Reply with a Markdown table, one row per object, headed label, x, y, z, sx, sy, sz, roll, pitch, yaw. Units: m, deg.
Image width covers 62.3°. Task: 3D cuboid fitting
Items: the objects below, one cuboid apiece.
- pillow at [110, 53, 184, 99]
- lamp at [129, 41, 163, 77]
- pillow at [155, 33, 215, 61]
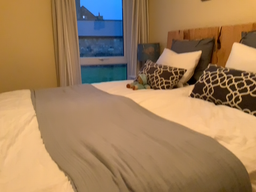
| label | x | y | z | sx | sy | sz | roll | pitch | yaw |
| --- | --- | --- | --- | --- | --- | --- | --- | --- | --- |
| pillow | 0.160 | -0.200 | 2.040 | 0.590 | 0.430 | 0.140 | 9 | -38 | 55 |
| lamp | 0.250 | -0.530 | 3.010 | 0.340 | 0.470 | 0.360 | -7 | 14 | -26 |
| pillow | 0.580 | -0.510 | 2.270 | 0.100 | 0.250 | 0.620 | 38 | -15 | -33 |
